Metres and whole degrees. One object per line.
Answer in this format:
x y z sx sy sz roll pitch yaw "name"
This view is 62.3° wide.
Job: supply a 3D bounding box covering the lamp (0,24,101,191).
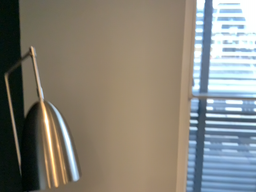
-0.380 0.670 0.880 0.350 1.760 0.590 -4 9 -28 "lamp"
